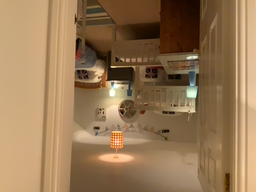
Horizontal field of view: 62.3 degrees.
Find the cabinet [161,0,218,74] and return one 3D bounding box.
[{"bbox_3d":[0.700,-0.790,2.550,0.510,0.900,1.100,1,-2,13],"label":"cabinet"}]

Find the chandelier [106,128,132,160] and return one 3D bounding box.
[{"bbox_3d":[-0.140,0.800,3.610,0.360,0.430,0.430,2,-2,6],"label":"chandelier"}]
